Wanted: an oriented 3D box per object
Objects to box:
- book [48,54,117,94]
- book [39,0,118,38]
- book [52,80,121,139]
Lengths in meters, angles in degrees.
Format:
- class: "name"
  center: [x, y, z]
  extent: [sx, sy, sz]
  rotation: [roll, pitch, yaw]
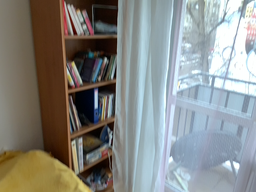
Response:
- class: "book"
  center: [-0.360, -0.200, 1.730]
  extent: [0.330, 0.200, 0.430]
  rotation: [20, 26, 40]
- class: "book"
  center: [-0.360, -0.580, 1.620]
  extent: [0.310, 0.230, 0.480]
  rotation: [19, 25, 39]
- class: "book"
  center: [-0.350, 0.090, 1.840]
  extent: [0.470, 0.320, 0.330]
  rotation: [-16, 27, -42]
